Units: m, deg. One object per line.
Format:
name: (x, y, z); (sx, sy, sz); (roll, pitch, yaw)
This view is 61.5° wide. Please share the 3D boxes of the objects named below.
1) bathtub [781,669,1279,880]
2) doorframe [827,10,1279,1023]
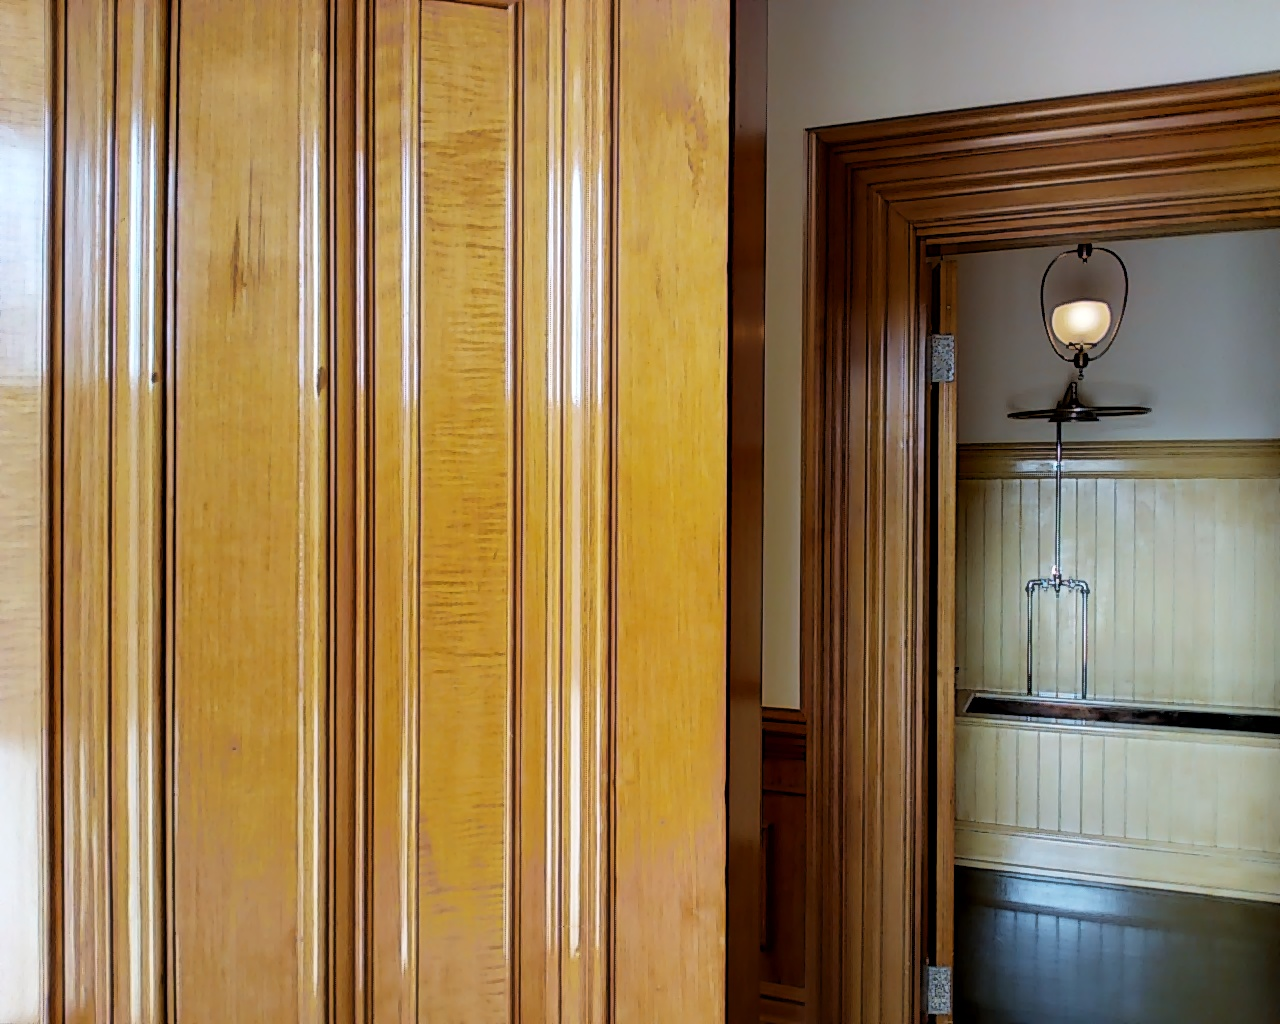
bathtub: (2.120, 1.180, 5.010); (2.790, 0.630, 0.800); (0, 0, 23)
doorframe: (1.220, 0.230, 2.590); (1.450, 2.590, 0.460); (0, 0, 24)
